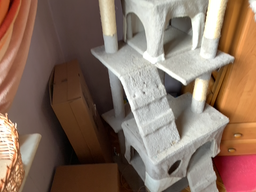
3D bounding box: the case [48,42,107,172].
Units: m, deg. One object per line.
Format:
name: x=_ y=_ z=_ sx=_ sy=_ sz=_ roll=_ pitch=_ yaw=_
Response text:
case: x=-0.310 y=0.050 z=1.510 sx=0.230 sy=0.600 sz=0.690 roll=-6 pitch=39 yaw=-4
